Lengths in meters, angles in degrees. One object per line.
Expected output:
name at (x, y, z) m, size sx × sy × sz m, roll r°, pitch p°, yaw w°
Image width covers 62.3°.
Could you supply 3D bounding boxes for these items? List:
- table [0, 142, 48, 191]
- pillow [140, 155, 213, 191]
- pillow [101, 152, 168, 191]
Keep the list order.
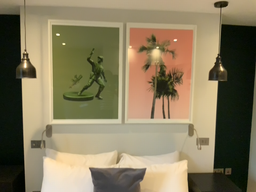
table at (-1.210, 0.930, 2.440) m, size 0.420 × 0.660 × 0.440 m, roll 2°, pitch 5°, yaw 0°
pillow at (0.410, 0.730, 1.900) m, size 0.570 × 0.350 × 0.170 m, roll -2°, pitch 31°, yaw -4°
pillow at (0.040, 0.700, 1.730) m, size 0.480 × 0.380 × 0.270 m, roll -1°, pitch 26°, yaw -3°
